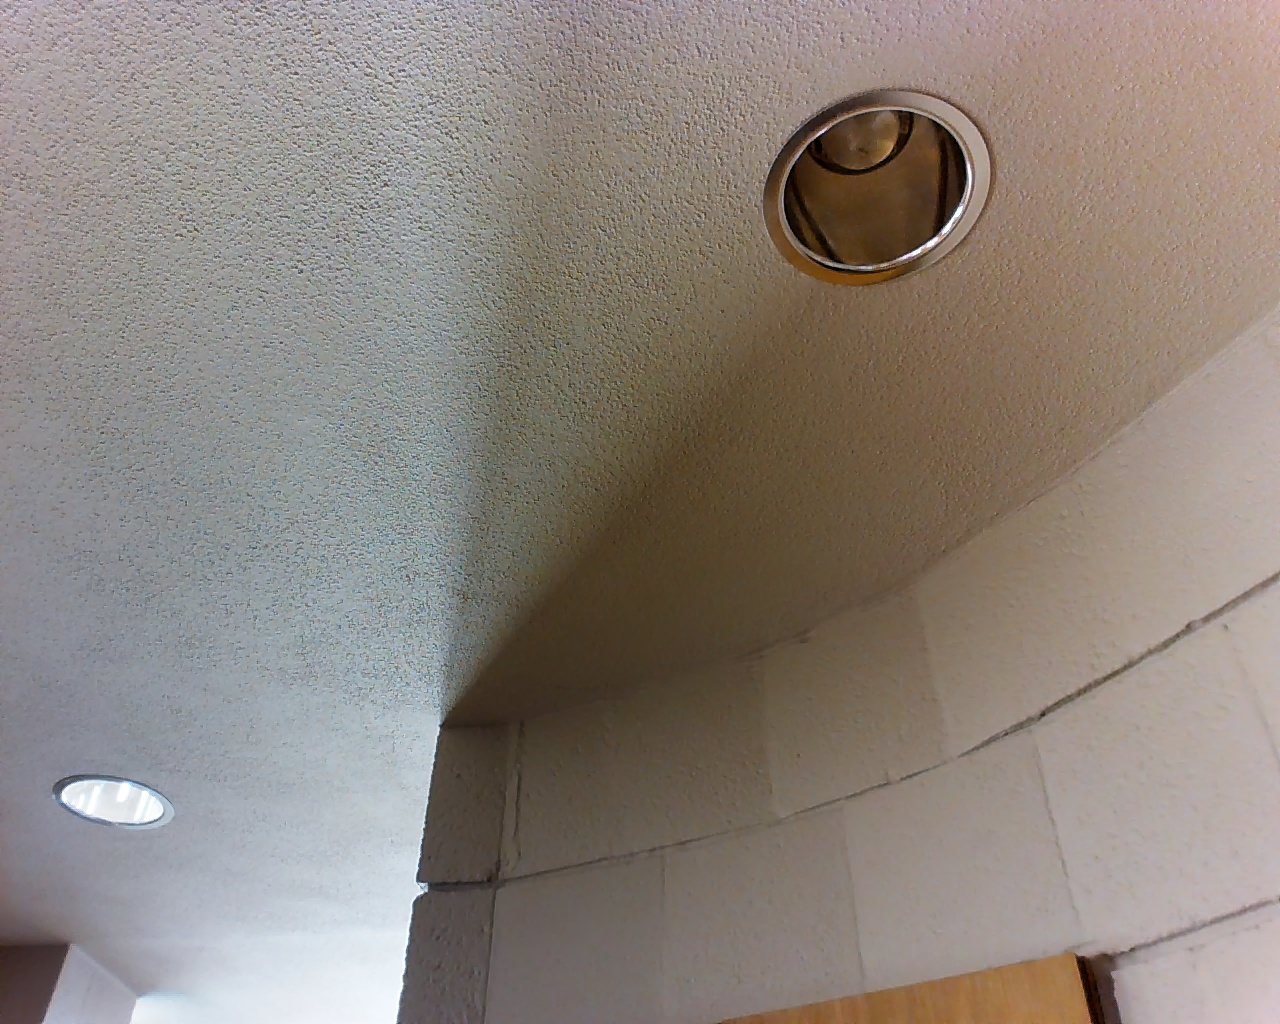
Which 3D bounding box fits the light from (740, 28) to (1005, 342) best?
[{"bbox_3d":[0.170,-0.240,0.790,0.080,0.160,0.160,34,45,4],"label":"light"}]
